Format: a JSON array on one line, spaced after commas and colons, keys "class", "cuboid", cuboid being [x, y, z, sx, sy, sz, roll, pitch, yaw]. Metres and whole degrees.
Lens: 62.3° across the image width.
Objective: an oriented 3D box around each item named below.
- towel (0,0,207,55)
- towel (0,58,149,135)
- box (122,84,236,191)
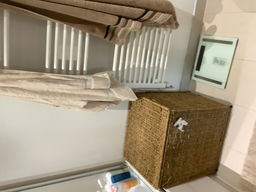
[{"class": "towel", "cuboid": [-0.150, -0.450, 1.080, 0.220, 1.310, 0.350, 27, 114, 54]}, {"class": "towel", "cuboid": [-0.360, -0.010, 1.120, 0.200, 0.970, 0.310, 28, 115, 54]}, {"class": "box", "cuboid": [0.340, 0.260, 1.520, 0.410, 0.570, 0.610, 28, 115, 54]}]
